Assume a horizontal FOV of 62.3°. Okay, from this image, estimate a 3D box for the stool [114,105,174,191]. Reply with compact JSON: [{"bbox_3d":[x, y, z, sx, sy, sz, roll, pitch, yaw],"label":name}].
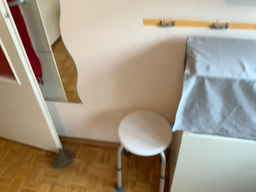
[{"bbox_3d":[0.110,0.360,1.390,0.310,0.490,0.320,6,42,8],"label":"stool"}]
